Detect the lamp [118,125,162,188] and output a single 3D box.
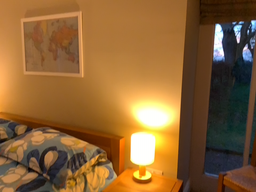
[{"bbox_3d":[0.090,0.420,1.540,0.220,0.340,0.250,6,10,27],"label":"lamp"}]
